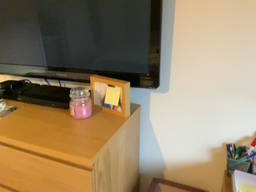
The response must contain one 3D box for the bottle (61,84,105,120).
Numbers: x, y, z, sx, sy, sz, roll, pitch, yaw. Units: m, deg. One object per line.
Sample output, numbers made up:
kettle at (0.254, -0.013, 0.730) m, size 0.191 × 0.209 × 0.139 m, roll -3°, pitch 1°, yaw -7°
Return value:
bottle at (-0.200, 0.020, 0.970) m, size 0.120 × 0.100 × 0.160 m, roll 10°, pitch 21°, yaw 25°
